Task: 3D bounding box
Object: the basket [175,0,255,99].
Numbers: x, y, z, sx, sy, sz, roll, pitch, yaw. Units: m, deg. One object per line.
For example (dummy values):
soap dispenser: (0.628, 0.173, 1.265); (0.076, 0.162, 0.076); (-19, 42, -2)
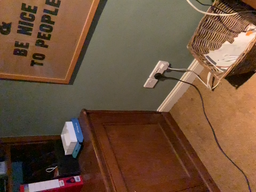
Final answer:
basket: (0.600, -0.260, 1.270); (0.440, 0.320, 0.340); (-60, 42, 34)
